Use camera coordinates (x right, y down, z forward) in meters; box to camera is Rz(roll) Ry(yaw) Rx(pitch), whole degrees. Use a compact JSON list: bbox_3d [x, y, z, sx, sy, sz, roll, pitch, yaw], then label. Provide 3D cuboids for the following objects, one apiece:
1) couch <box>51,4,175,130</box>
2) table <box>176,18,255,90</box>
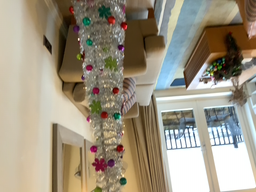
[{"bbox_3d":[-0.140,-0.140,2.670,0.980,0.780,1.840,-5,162,-1],"label":"couch"},{"bbox_3d":[1.170,-0.470,2.740,0.820,0.360,1.130,-5,162,-1],"label":"table"}]
